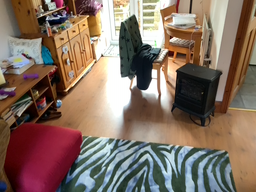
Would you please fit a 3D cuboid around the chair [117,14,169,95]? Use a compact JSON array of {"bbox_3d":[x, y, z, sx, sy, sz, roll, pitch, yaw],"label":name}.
[{"bbox_3d":[0.200,-0.560,2.800,0.500,0.900,0.420,15,36,26],"label":"chair"}]
